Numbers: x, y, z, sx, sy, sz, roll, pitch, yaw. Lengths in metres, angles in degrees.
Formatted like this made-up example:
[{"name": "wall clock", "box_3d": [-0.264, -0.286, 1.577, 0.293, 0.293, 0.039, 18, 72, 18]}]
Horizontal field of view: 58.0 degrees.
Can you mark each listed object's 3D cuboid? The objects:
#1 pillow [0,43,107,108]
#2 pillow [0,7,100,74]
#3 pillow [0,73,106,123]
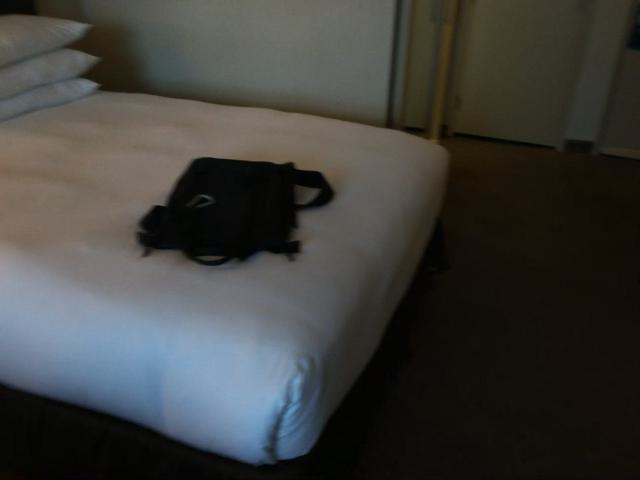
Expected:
[{"name": "pillow", "box_3d": [-1.110, -0.660, 2.290, 0.120, 0.150, 0.630, 10, 27, 18]}, {"name": "pillow", "box_3d": [-1.260, -0.810, 2.310, 0.410, 0.180, 0.600, 10, 27, 18]}, {"name": "pillow", "box_3d": [-1.090, -0.580, 2.320, 0.110, 0.080, 0.550, 10, 27, 18]}]
